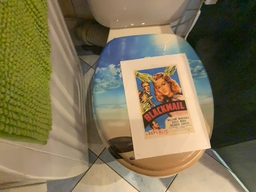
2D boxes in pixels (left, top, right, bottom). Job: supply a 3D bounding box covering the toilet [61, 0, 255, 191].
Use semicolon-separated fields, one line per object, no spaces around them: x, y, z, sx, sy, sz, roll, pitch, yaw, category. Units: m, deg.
0.070;-0.090;0.710;0.390;0.780;0.680;-6;72;-5;toilet
